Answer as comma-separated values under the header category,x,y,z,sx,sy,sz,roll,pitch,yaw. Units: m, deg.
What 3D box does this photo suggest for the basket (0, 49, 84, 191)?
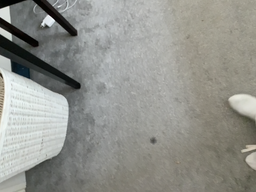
category,x,y,z,sx,sy,sz,roll,pitch,yaw
basket,-0.530,0.150,0.900,0.360,0.570,0.560,10,84,14
